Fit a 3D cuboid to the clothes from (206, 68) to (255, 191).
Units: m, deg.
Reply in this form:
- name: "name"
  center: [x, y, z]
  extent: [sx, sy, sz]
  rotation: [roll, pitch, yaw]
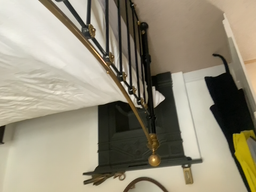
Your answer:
- name: "clothes"
  center: [0.900, 0.470, 1.550]
  extent: [0.320, 1.180, 0.550]
  rotation: [-14, 153, 21]

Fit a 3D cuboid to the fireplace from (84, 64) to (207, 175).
- name: "fireplace"
  center: [0.130, 0.280, 2.370]
  extent: [1.220, 1.020, 0.260]
  rotation: [-12, 154, 15]
